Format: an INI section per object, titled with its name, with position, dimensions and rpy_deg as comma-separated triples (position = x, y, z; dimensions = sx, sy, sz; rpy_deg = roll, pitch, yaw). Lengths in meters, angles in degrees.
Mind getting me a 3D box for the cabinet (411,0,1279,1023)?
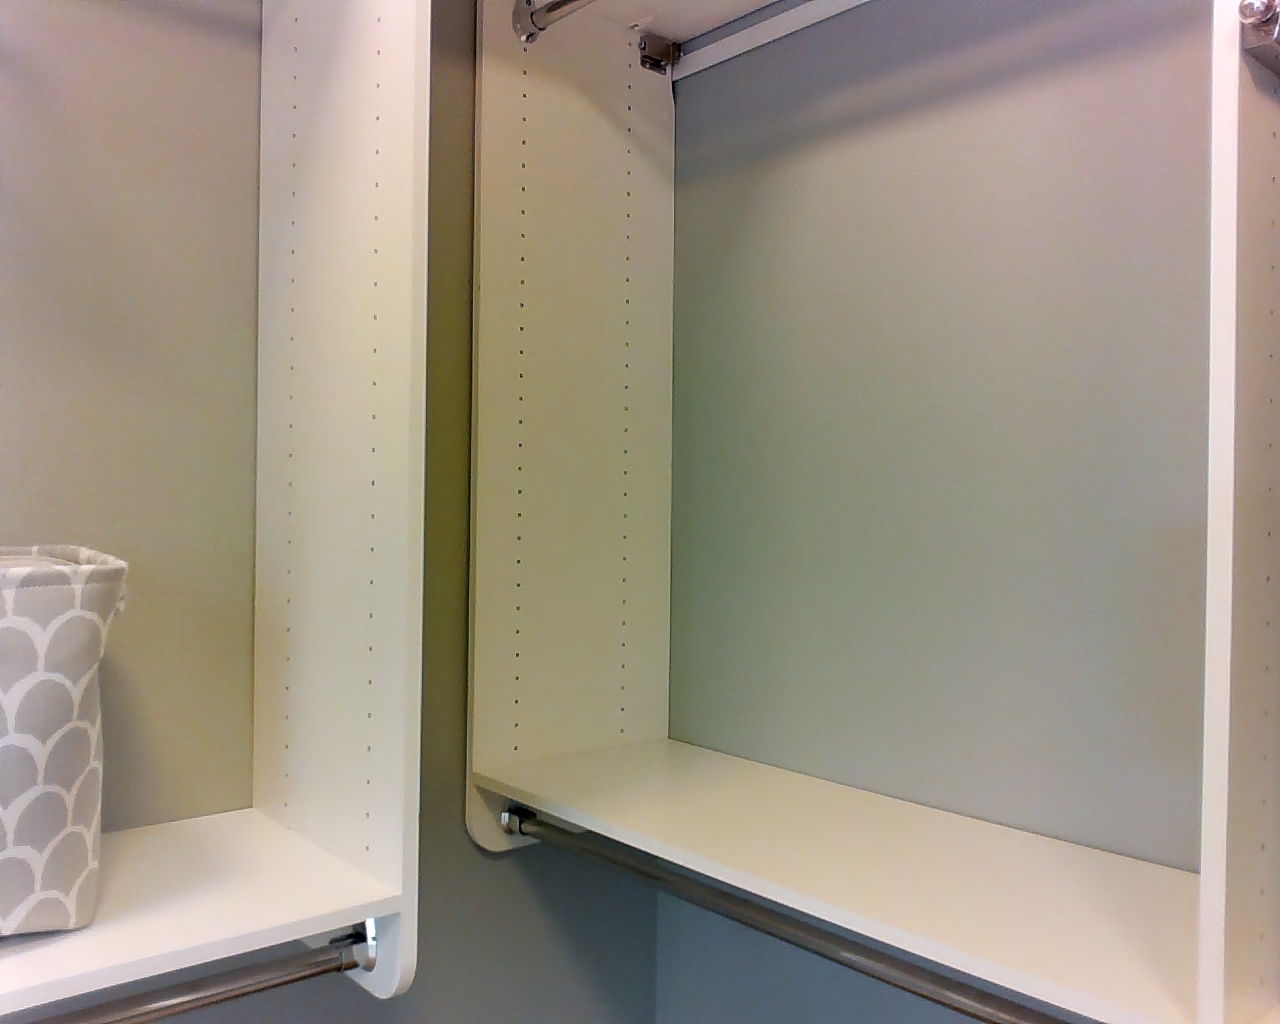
[cabinet]
position = 0.730, -0.170, 0.600
dimensions = 0.350, 1.221, 2.879
rpy_deg = 2, 0, -40
